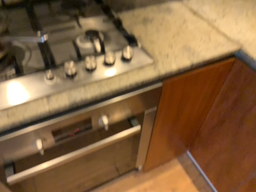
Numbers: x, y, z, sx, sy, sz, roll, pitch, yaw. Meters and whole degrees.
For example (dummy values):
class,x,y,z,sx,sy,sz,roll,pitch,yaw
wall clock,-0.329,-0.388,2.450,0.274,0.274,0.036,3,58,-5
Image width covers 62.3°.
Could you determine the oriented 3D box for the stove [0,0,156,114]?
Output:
class,x,y,z,sx,sy,sz,roll,pitch,yaw
stove,-0.300,-0.210,0.710,0.570,0.030,0.580,-18,52,-18
